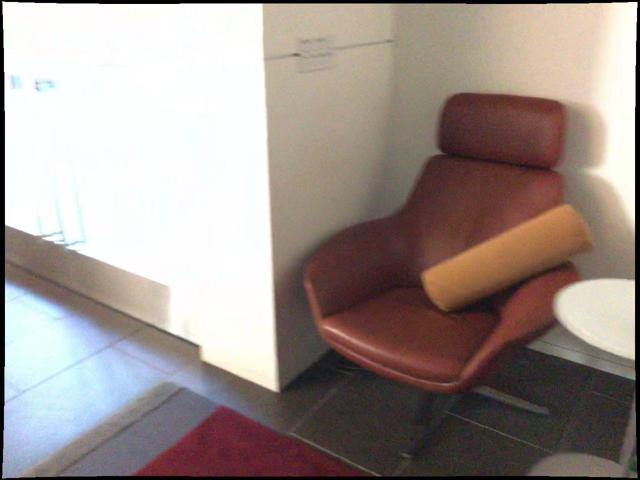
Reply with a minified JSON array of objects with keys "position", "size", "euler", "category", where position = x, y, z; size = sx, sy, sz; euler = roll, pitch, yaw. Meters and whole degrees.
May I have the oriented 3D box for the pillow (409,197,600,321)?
[{"position":[0.648,0.070,2.090],"size":[0.609,0.190,0.190],"euler":[-23,9,16],"category":"pillow"}]
